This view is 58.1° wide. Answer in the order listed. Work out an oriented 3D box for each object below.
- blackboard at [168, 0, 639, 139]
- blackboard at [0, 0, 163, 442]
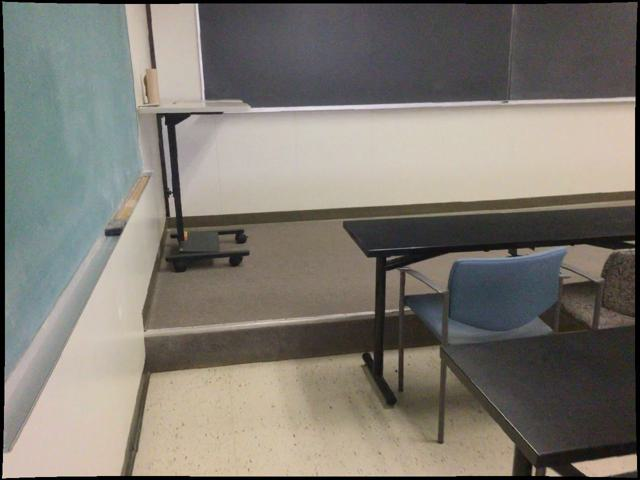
[{"bbox_3d":[1.626,-1.664,4.420,5.377,1.474,0.470,-4,16,-10],"label":"blackboard"},{"bbox_3d":[-0.738,-0.622,1.930,0.130,1.363,2.370,-4,16,-10],"label":"blackboard"}]
